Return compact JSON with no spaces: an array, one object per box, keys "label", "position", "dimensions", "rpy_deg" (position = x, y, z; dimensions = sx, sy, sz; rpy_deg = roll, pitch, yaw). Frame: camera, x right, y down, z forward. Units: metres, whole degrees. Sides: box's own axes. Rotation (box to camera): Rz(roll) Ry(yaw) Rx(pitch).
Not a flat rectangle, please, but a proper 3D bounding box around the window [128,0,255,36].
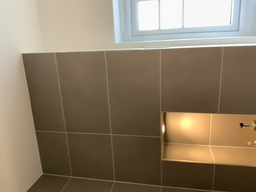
[{"label":"window","position":[0.420,-0.710,1.420],"dimensions":[0.070,0.850,0.550],"rpy_deg":[-58,-33,-69]}]
